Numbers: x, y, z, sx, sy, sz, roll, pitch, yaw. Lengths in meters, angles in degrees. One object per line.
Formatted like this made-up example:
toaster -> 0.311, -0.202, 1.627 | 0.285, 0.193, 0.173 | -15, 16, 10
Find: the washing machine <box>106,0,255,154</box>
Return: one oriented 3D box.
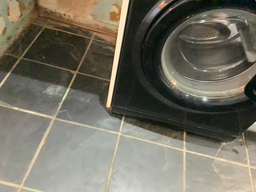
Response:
washing machine -> 0.330, -0.330, 0.880 | 0.610, 0.880, 0.700 | 14, 51, -2
